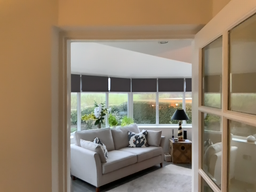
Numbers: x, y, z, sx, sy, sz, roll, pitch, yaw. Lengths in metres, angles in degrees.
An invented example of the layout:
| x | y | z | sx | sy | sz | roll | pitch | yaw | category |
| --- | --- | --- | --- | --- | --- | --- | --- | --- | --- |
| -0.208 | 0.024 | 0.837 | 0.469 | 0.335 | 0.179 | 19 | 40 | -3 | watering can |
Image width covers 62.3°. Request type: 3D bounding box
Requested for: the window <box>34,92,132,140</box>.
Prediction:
| x | y | z | sx | sy | sz | roll | pitch | yaw | category |
| --- | --- | --- | --- | --- | --- | --- | --- | --- | --- |
| -0.890 | 0.380 | 5.090 | 2.610 | 0.930 | 0.170 | -1 | 2 | -44 | window |

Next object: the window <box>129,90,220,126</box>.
| x | y | z | sx | sy | sz | roll | pitch | yaw | category |
| --- | --- | --- | --- | --- | --- | --- | --- | --- | --- |
| 1.300 | 0.350 | 5.980 | 2.520 | 0.990 | 0.160 | 0 | 1 | -2 | window |

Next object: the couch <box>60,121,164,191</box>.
| x | y | z | sx | sy | sz | roll | pitch | yaw | category |
| --- | --- | --- | --- | --- | --- | --- | --- | --- | --- |
| -0.250 | 1.140 | 4.590 | 1.110 | 0.900 | 2.030 | 1 | 2 | 43 | couch |
